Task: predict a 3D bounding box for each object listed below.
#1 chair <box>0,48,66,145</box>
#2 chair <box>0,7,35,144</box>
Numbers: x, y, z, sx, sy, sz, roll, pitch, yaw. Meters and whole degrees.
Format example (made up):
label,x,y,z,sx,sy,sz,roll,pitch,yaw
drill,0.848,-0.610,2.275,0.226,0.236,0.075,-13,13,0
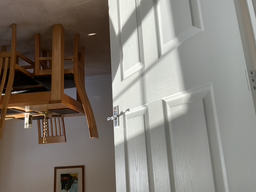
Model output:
label,x,y,z,sx,sy,sz,roll,pitch,yaw
chair,-1.110,0.040,2.570,0.490,1.040,0.540,-6,168,8
chair,-1.180,-0.120,1.820,0.490,1.040,0.540,-4,168,1
